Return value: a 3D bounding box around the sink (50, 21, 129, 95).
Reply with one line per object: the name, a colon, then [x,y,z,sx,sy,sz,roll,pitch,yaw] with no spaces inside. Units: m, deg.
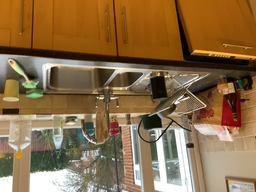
sink: [-0.280,-0.190,1.340,0.390,0.230,0.530,1,165,-21]
